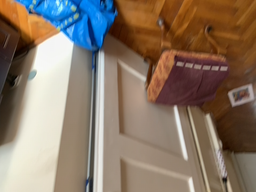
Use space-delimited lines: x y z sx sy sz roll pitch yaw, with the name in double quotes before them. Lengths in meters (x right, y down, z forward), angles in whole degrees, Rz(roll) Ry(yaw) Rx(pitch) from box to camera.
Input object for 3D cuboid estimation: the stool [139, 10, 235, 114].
"stool" 0.310 -0.200 1.310 0.370 0.490 0.350 4 146 -12
